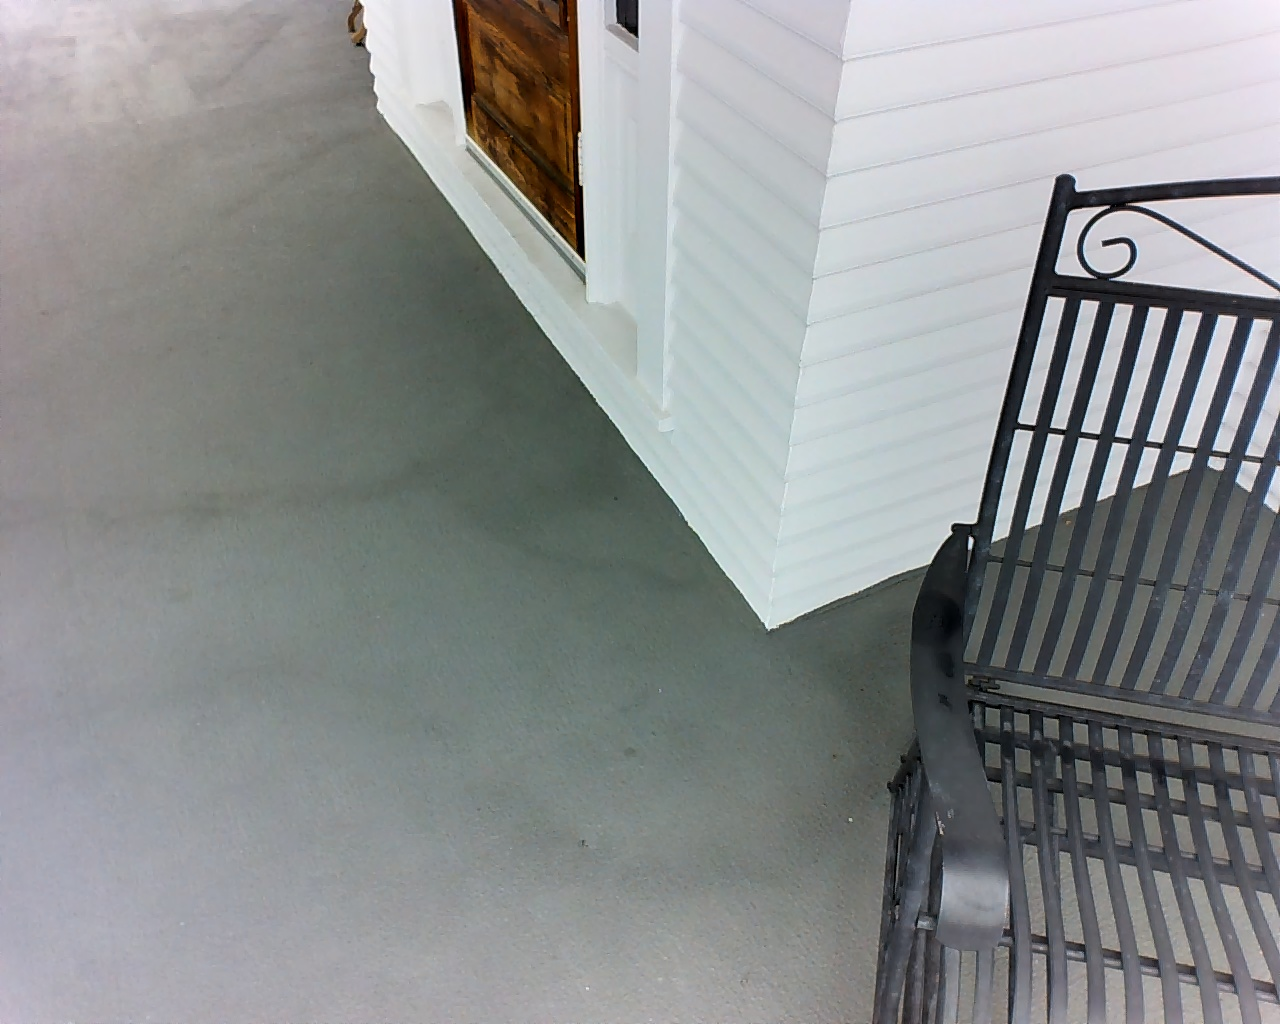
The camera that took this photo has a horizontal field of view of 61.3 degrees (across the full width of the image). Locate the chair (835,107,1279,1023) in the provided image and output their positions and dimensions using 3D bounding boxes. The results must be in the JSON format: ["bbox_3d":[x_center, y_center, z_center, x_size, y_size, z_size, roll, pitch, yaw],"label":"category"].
[{"bbox_3d":[0.860,0.340,1.180,1.130,1.110,0.920,10,44,11],"label":"chair"}]
